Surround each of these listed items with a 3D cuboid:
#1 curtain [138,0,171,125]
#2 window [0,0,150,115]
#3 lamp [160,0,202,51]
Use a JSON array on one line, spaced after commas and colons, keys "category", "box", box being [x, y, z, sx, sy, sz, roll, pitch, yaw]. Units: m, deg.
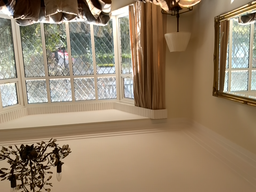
[{"category": "curtain", "box": [0.460, -0.600, 3.630, 0.490, 2.190, 0.180, -4, -171, -10]}, {"category": "window", "box": [-1.170, -0.770, 4.180, 2.940, 1.920, 1.170, -3, -171, -7]}, {"category": "lamp", "box": [0.810, -1.160, 3.290, 0.500, 0.860, 0.370, -4, -171, -12]}]
